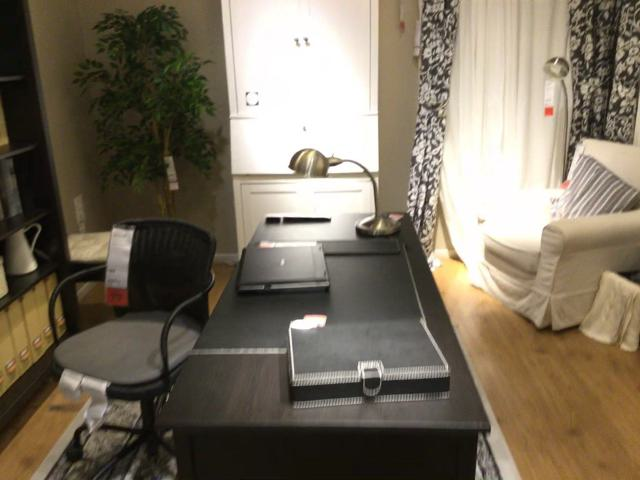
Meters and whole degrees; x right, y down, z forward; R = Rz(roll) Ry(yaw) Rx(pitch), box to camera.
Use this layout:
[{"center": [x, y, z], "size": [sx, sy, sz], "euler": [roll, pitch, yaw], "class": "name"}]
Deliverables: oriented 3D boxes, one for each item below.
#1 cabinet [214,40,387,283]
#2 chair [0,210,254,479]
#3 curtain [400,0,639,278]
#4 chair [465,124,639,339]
[{"center": [-0.070, -0.470, 3.590], "size": [0.940, 1.400, 0.450], "euler": [-1, 17, 6], "class": "cabinet"}, {"center": [-0.610, 0.360, 1.950], "size": [0.550, 0.800, 0.530], "euler": [2, 18, 16], "class": "chair"}, {"center": [1.070, -0.940, 3.310], "size": [1.190, 2.280, 0.470], "euler": [-1, 17, 6], "class": "curtain"}, {"center": [1.320, -0.100, 3.090], "size": [0.910, 0.900, 0.960], "euler": [-1, 17, 6], "class": "chair"}]
